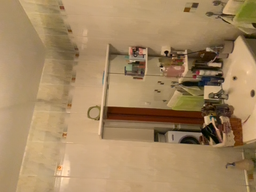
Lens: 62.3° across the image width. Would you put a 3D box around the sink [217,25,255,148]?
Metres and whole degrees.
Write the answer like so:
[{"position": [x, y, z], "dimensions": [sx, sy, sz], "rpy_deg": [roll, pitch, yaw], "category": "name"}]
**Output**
[{"position": [0.910, -0.050, 1.630], "dimensions": [0.480, 0.160, 0.810], "rpy_deg": [94, 179, -69], "category": "sink"}]
